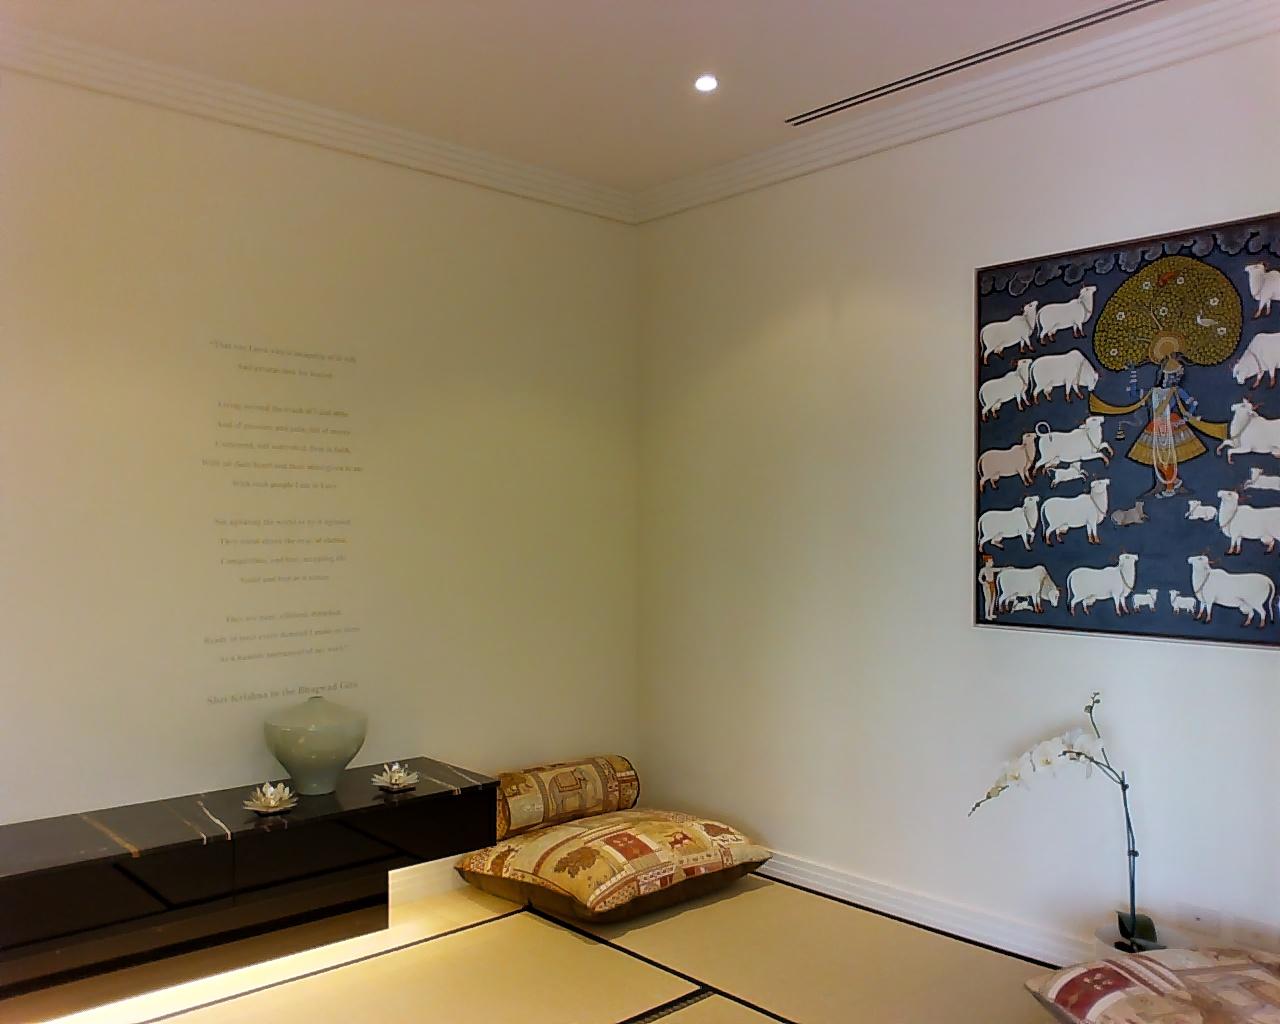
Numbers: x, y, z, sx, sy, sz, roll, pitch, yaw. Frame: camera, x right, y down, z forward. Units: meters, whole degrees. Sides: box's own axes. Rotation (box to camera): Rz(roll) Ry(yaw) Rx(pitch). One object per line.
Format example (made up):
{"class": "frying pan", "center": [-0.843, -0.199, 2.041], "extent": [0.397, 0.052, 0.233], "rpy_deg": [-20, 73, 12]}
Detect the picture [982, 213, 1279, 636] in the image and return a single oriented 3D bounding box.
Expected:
{"class": "picture", "center": [1.490, -0.230, 3.020], "extent": [0.040, 1.100, 1.130], "rpy_deg": [0, 1, -42]}
